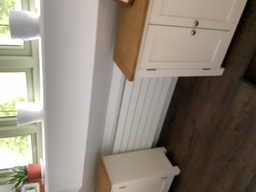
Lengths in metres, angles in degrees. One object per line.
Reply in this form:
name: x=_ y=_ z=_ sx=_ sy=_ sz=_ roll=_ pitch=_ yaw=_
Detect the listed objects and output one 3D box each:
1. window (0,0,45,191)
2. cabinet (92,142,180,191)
window: x=-1.050 y=0.100 z=1.370 sx=0.180 sy=0.920 sz=1.860 roll=-124 pitch=38 yaw=-50
cabinet: x=0.040 y=0.990 z=2.310 sx=0.380 sy=0.740 sz=0.820 roll=-125 pitch=39 yaw=-51
